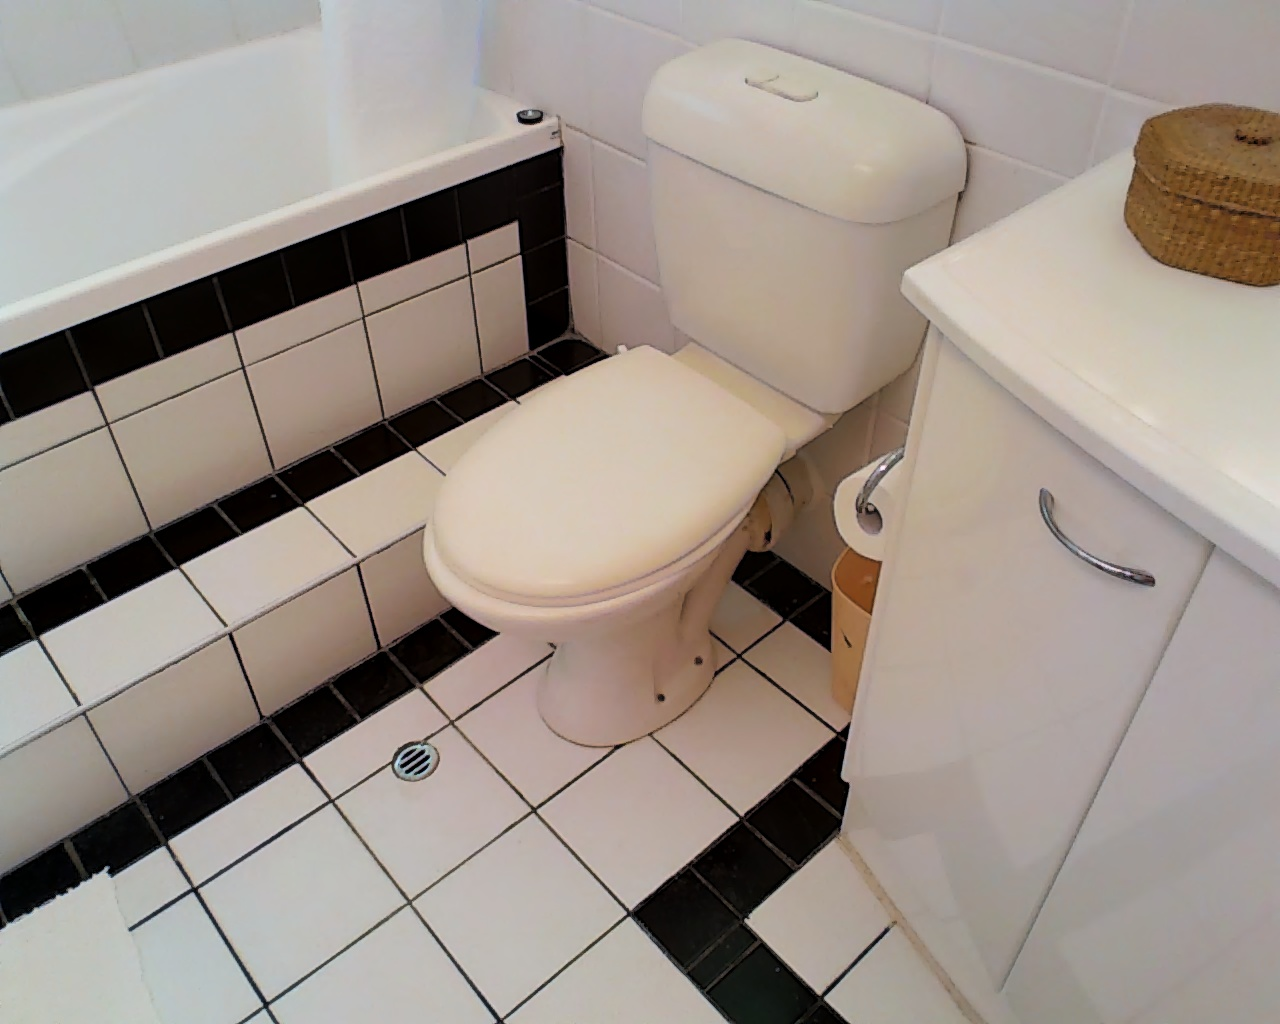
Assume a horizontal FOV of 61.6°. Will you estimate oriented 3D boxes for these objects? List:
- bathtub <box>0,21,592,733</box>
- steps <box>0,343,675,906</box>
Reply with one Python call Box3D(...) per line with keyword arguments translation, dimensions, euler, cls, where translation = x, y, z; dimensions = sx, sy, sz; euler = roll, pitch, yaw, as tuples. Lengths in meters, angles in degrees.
Box3D(translation=(-1.020, -0.180, 1.680), dimensions=(1.800, 0.600, 0.750), euler=(-30, 49, -30), cls="bathtub")
Box3D(translation=(-0.670, 0.210, 1.570), dimensions=(1.700, 0.230, 0.280), euler=(-30, 49, -30), cls="steps")
